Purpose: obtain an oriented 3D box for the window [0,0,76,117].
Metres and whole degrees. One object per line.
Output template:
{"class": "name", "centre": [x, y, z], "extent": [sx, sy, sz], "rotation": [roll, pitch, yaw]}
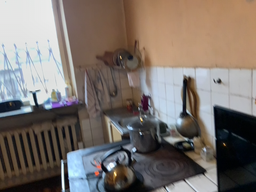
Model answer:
{"class": "window", "centre": [-1.550, -0.530, 2.550], "extent": [1.580, 1.540, 0.210], "rotation": [-9, 12, -17]}
